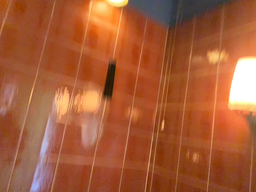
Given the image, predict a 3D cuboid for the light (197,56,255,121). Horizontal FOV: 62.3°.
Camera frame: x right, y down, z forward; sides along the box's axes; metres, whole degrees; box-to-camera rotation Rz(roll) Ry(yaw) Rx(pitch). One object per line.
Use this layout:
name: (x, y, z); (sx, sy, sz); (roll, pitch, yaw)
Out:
light: (0.360, -0.010, 0.650); (0.190, 0.140, 0.200); (17, -14, -35)
